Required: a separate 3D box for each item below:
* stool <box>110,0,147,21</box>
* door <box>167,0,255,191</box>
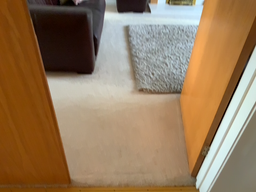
[{"bbox_3d":[-0.010,-1.610,3.620,0.570,0.440,0.540,0,39,-4],"label":"stool"},{"bbox_3d":[0.430,-0.320,0.940,0.080,2.060,0.850,3,39,-1],"label":"door"}]
